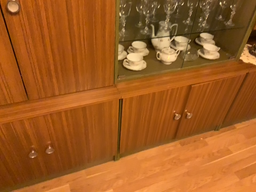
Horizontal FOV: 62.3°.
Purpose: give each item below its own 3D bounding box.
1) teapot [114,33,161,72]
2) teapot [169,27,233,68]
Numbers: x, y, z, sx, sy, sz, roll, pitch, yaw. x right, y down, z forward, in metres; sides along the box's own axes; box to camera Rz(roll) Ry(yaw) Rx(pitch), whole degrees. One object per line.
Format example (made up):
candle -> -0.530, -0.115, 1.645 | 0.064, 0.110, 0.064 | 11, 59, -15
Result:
teapot -> 0.050, -0.300, 1.410 | 0.210, 0.110, 0.290 | -11, 42, -19
teapot -> 0.520, -0.370, 1.560 | 0.250, 0.110, 0.370 | -13, 43, -21
